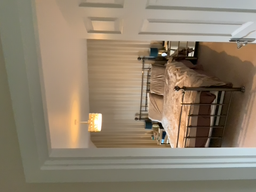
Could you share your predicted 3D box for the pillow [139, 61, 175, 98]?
[{"bbox_3d":[0.640,-0.370,4.760,0.630,0.470,0.280,48,-168,-18],"label":"pillow"}]
